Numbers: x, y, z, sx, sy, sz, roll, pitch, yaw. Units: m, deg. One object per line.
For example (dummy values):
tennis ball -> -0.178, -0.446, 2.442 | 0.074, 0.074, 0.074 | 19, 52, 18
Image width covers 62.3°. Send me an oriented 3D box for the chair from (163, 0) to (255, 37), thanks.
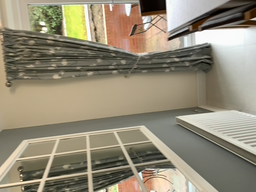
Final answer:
chair -> 0.720, -0.680, 1.380 | 0.350, 0.910, 0.500 | -142, 47, -74
